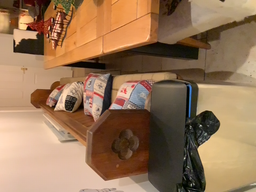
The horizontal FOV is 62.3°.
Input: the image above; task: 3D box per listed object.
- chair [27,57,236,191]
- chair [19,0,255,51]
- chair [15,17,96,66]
[{"bbox_3d":[-0.520,0.060,2.450,3.130,0.920,0.570,6,94,60],"label":"chair"},{"bbox_3d":[0.200,-0.560,0.950,0.670,1.190,0.490,8,96,60],"label":"chair"},{"bbox_3d":[-1.150,-0.790,3.340,0.710,1.100,0.490,6,95,61],"label":"chair"}]
